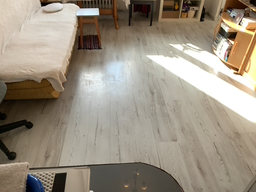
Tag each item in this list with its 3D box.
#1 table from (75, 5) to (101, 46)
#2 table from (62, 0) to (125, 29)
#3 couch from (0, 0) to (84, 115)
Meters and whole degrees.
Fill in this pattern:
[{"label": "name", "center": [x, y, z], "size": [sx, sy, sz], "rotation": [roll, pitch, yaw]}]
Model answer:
[{"label": "table", "center": [-0.580, -1.050, 3.170], "size": [0.300, 0.460, 0.420], "rotation": [-2, 39, -4]}, {"label": "table", "center": [-0.560, -1.590, 3.690], "size": [1.000, 0.630, 0.610], "rotation": [-1, 39, -3]}, {"label": "couch", "center": [-1.130, -0.830, 2.490], "size": [0.950, 0.940, 2.040], "rotation": [-2, 39, -4]}]
